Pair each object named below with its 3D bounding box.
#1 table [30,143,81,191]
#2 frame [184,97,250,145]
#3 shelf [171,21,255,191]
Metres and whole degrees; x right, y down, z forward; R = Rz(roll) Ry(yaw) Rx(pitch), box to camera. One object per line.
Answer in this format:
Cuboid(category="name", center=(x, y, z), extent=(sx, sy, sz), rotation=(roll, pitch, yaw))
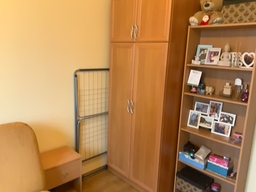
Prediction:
Cuboid(category="table", center=(-0.710, 0.790, 2.090), extent=(0.370, 0.480, 0.330), rotation=(-7, 15, -40))
Cuboid(category="frame", center=(0.830, 0.220, 2.040), extent=(0.120, 0.310, 0.550), rotation=(-9, 16, -43))
Cuboid(category="shelf", center=(0.820, 0.230, 2.020), extent=(0.260, 1.730, 0.630), rotation=(-9, 16, -43))
